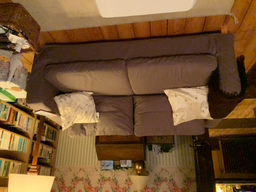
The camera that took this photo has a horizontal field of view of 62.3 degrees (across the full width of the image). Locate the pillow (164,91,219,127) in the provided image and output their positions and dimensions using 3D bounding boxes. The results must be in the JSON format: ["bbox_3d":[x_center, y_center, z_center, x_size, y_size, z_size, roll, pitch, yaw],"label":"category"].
[{"bbox_3d":[0.610,0.120,2.140,0.440,0.460,0.180,-5,107,6],"label":"pillow"}]
